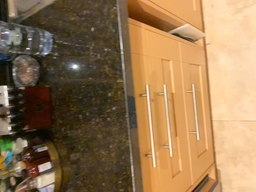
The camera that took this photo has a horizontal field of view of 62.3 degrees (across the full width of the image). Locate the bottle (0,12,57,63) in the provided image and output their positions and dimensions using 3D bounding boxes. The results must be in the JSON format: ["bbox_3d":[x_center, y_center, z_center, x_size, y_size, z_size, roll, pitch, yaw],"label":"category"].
[{"bbox_3d":[-0.360,-0.170,0.630,0.110,0.260,0.110,-4,91,37],"label":"bottle"}]
